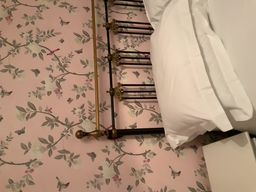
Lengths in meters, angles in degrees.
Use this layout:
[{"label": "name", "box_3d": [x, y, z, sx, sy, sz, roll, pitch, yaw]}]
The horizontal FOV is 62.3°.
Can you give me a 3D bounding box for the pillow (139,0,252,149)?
[{"label": "pillow", "box_3d": [0.300, -0.140, 1.200, 0.440, 0.270, 0.780, 120, 146, -64]}]
